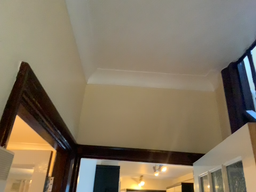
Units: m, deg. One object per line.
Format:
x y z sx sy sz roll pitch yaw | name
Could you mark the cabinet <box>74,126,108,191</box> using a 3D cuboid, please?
-0.450 0.900 2.750 0.310 0.810 0.770 4 -24 -4 | cabinet
